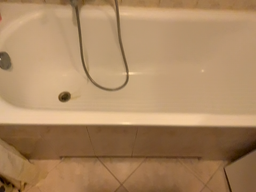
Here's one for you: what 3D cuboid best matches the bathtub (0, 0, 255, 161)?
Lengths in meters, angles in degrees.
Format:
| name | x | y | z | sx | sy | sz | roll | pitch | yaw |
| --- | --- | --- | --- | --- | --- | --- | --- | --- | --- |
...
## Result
| name | x | y | z | sx | sy | sz | roll | pitch | yaw |
| --- | --- | --- | --- | --- | --- | --- | --- | --- | --- |
| bathtub | 0.090 | -0.060 | 1.200 | 1.540 | 0.540 | 0.690 | 2 | 60 | -3 |
